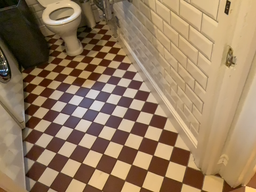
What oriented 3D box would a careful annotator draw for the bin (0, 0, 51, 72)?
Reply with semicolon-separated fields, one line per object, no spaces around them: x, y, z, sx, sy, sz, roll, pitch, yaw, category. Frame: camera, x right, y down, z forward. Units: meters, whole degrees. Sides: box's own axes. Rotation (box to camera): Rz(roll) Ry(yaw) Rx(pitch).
-1.010;-0.680;2.040;0.240;0.600;0.650;-20;47;-9;bin

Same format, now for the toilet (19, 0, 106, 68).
-0.650;-0.910;1.980;0.530;0.940;0.710;-19;47;-8;toilet
